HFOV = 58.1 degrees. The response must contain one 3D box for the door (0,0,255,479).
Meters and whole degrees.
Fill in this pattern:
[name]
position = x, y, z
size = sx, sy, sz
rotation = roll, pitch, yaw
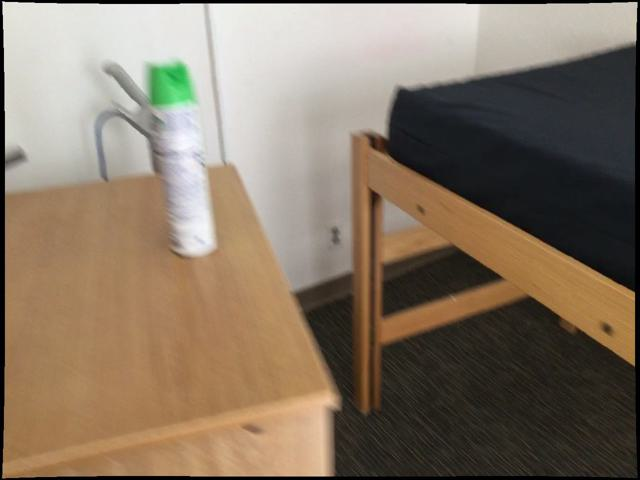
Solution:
[door]
position = -0.549, -0.140, 1.620
size = 0.060, 1.623, 0.900
rotation = 13, 32, 27
